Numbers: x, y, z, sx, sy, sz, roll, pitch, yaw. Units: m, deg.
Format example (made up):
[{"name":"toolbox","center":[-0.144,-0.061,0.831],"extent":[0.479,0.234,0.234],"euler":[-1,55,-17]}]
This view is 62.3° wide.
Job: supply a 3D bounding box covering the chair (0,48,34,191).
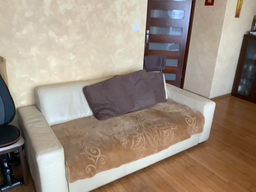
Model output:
[{"name":"chair","center":[-1.140,0.220,1.740],"extent":[0.450,1.110,0.570],"euler":[-11,26,-32]}]
